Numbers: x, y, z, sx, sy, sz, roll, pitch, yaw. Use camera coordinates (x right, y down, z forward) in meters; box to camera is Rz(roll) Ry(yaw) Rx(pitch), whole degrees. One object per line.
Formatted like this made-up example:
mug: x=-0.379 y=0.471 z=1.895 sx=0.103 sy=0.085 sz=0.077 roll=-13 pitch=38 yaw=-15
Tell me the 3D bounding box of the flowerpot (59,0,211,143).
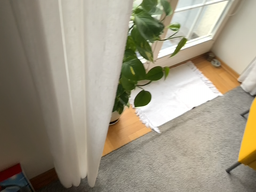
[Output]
flowerpot: x=-0.070 y=-0.250 z=1.330 sx=0.490 sy=1.010 sz=0.550 roll=-21 pitch=61 yaw=-25
